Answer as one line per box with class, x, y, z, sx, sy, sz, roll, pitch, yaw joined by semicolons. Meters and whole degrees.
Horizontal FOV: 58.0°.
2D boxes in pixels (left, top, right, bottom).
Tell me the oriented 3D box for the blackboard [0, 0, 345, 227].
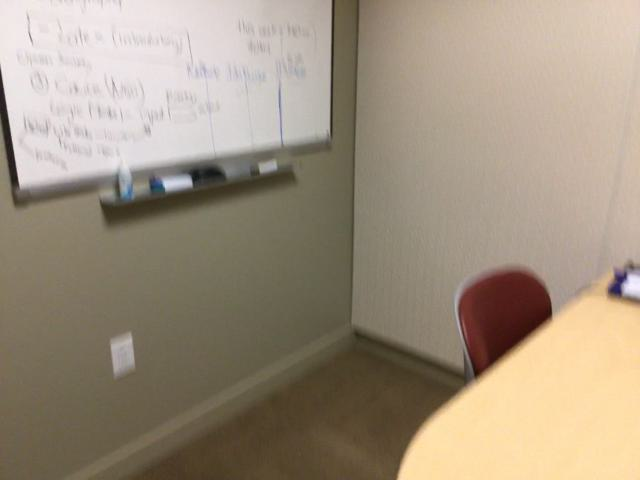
blackboard;-0.350;-0.610;1.710;0.070;0.920;1.200;17;25;41
